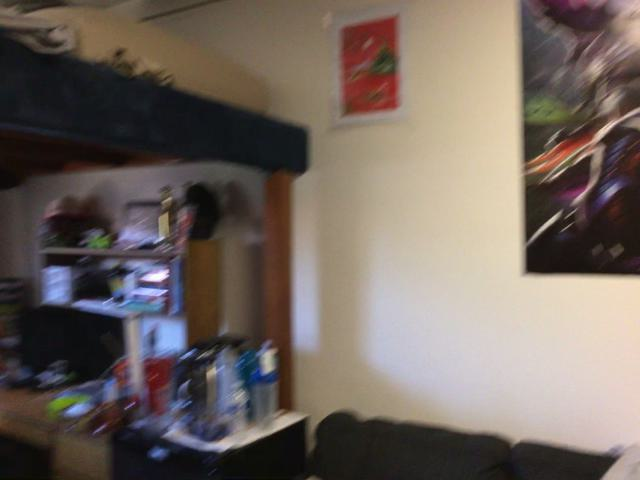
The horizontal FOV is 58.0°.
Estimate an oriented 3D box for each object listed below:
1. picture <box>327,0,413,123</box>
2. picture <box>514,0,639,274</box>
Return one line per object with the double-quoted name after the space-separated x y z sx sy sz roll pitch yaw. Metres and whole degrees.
0.190 -0.710 2.250 0.330 0.460 0.070 1 -1 33 "picture"
0.950 -0.400 1.740 0.680 1.000 0.100 1 -1 33 "picture"
